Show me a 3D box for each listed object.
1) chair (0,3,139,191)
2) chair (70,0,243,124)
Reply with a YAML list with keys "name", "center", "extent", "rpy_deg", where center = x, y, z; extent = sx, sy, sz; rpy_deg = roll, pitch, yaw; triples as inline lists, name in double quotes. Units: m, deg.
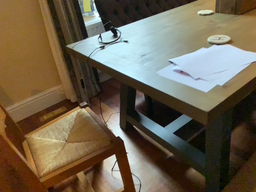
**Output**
- name: "chair"
  center: [-0.380, 0.150, 1.040]
  extent: [0.560, 1.000, 0.530]
  rpy_deg: [-30, 38, -28]
- name: "chair"
  center: [0.370, -0.590, 2.060]
  extent: [1.480, 0.920, 0.660]
  rpy_deg: [-29, 38, -27]
